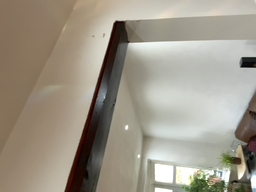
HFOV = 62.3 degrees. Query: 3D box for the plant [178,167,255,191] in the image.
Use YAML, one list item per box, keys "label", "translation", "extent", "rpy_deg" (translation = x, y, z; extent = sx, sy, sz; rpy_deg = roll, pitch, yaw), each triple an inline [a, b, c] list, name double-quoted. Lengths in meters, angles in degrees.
- label: "plant"
  translation: [1.750, 1.730, 3.810]
  extent: [0.680, 1.630, 0.510]
  rpy_deg: [74, -158, -53]
